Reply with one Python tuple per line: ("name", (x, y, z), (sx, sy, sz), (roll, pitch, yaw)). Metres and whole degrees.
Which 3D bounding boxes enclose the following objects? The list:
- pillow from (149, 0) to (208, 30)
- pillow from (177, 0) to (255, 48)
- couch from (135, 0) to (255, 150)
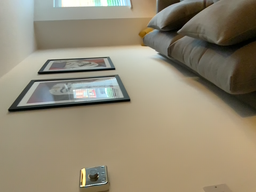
("pillow", (0.490, -0.860, 2.250), (0.560, 0.530, 0.260), (-75, -16, -69))
("pillow", (0.620, -0.490, 1.350), (0.650, 0.530, 0.250), (-74, -17, -68))
("couch", (0.730, -0.720, 1.830), (2.340, 0.860, 1.050), (-116, 23, -66))
